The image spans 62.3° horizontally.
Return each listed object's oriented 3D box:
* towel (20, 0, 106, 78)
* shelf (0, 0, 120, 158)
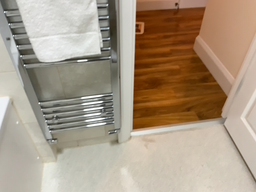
[{"bbox_3d":[-0.200,-0.330,0.630,0.220,0.560,0.120,-6,40,-7],"label":"towel"},{"bbox_3d":[-0.240,-0.120,0.910,0.380,1.290,0.060,-6,45,-7],"label":"shelf"}]
